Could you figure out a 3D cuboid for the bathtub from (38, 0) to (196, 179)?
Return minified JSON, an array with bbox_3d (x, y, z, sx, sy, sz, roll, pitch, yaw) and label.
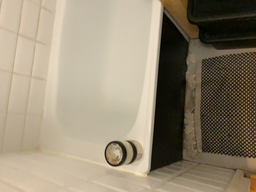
[{"bbox_3d":[-0.010,-0.340,1.310,0.670,0.540,1.400,3,84,31],"label":"bathtub"}]
